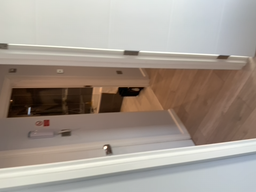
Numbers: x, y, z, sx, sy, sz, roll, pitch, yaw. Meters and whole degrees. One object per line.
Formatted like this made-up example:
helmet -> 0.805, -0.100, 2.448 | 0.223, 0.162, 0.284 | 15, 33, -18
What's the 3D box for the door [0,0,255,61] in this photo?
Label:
door -> 0.090, -0.640, 1.240 | 0.030, 2.000, 0.790 | -141, 53, -64
